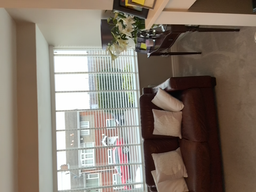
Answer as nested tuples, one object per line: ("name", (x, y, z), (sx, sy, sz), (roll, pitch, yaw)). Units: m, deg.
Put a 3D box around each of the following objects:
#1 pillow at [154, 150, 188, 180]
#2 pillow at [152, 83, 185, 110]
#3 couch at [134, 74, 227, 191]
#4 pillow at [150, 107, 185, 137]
("pillow", (0.550, 0.910, 2.790), (0.160, 0.390, 0.340), (75, -168, -60))
("pillow", (0.530, 0.020, 2.840), (0.370, 0.350, 0.310), (67, -161, -86))
("couch", (0.630, 0.580, 2.920), (1.050, 0.790, 1.580), (162, 105, -79))
("pillow", (0.540, 0.360, 2.870), (0.150, 0.420, 0.350), (-69, -31, -61))
